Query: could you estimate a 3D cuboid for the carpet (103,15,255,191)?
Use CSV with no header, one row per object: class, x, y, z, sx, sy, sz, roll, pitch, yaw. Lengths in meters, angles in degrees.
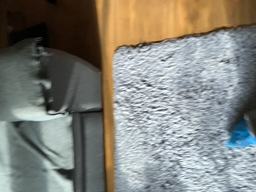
carpet,0.480,0.520,1.060,1.250,0.020,1.790,-6,86,22
